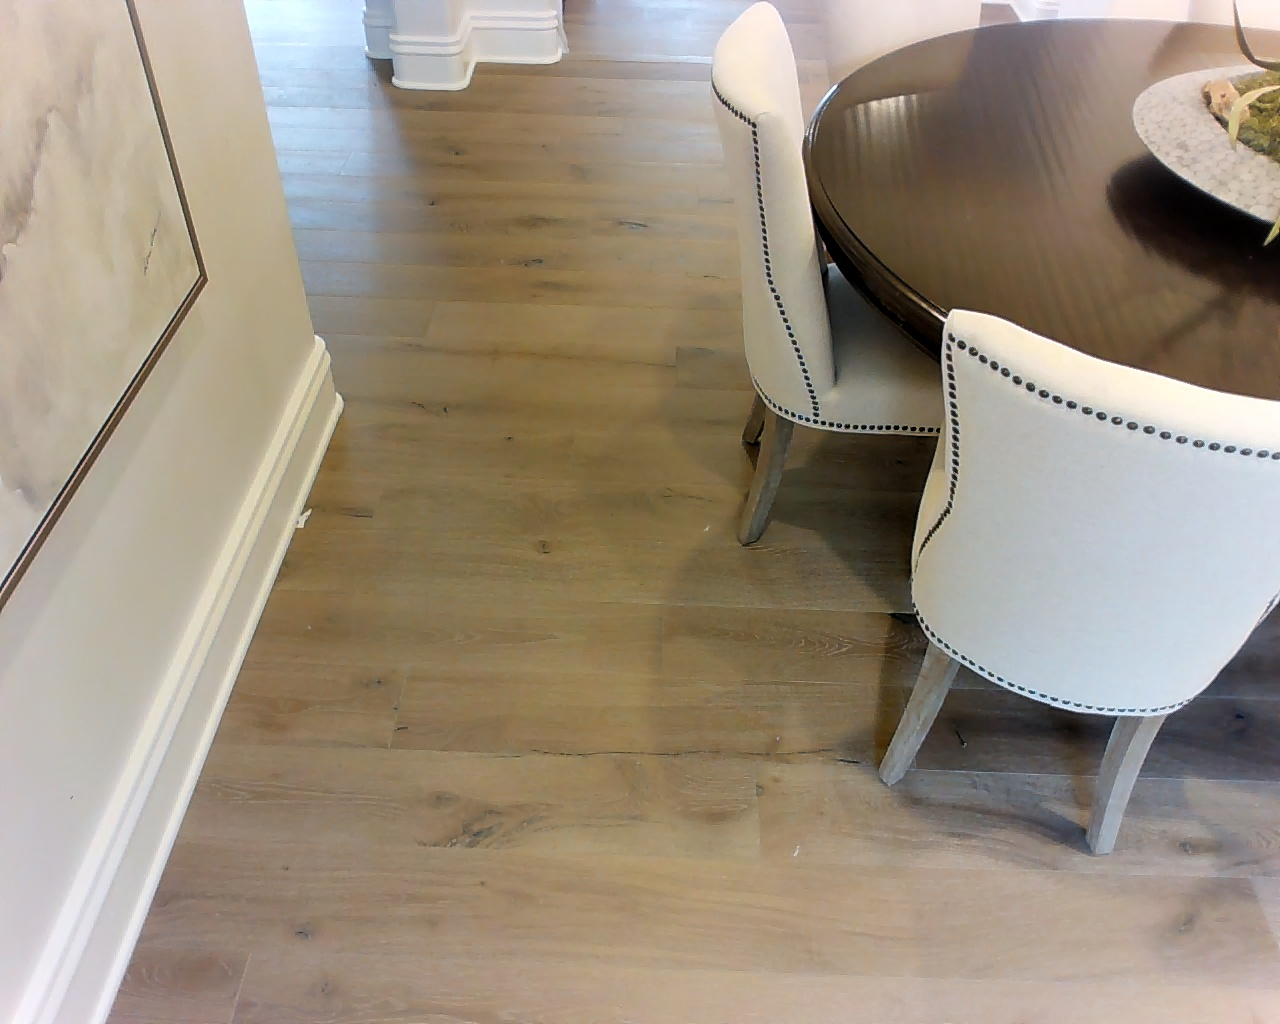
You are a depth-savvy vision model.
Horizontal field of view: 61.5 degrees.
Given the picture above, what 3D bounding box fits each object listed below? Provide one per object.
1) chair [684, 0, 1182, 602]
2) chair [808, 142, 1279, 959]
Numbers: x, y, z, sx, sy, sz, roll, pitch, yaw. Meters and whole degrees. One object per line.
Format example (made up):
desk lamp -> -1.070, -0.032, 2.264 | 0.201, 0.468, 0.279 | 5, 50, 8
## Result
chair -> 0.450, -0.400, 2.130 | 0.680, 0.980, 0.630 | 2, 42, 1
chair -> 0.670, 0.080, 1.630 | 0.560, 0.990, 0.570 | 18, 45, 18
